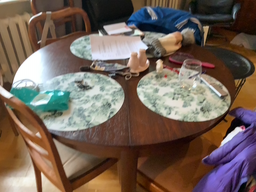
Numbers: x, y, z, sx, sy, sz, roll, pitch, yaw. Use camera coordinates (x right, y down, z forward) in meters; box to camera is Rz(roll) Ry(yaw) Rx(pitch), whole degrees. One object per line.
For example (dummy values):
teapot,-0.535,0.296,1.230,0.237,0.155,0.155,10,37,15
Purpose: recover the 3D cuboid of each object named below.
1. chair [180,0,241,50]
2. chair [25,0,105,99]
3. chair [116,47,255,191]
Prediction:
chair,1.250,-1.310,3.220,0.670,0.940,0.620,13,38,14
chair,-0.560,-0.510,2.060,0.480,0.870,0.440,24,42,27
chair,0.270,0.310,1.000,0.480,0.870,0.440,30,45,32
